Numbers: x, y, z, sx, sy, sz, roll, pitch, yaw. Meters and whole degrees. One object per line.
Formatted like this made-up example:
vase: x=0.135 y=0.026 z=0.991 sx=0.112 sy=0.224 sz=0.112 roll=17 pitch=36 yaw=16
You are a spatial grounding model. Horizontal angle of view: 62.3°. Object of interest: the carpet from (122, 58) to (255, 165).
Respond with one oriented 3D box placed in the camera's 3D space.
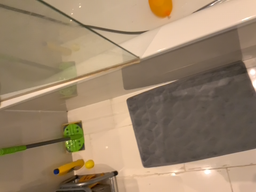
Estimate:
carpet: x=0.310 y=0.110 z=1.160 sx=0.680 sy=0.030 sz=0.410 roll=-19 pitch=77 yaw=24
